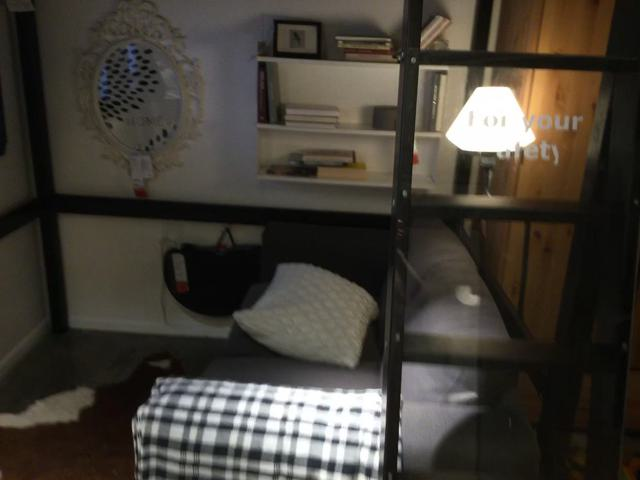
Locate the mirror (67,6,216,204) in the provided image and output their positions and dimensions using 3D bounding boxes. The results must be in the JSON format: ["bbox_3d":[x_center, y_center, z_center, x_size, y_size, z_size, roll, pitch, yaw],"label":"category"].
[{"bbox_3d":[-0.780,-0.590,2.590,0.580,0.840,0.080,3,20,5],"label":"mirror"}]
